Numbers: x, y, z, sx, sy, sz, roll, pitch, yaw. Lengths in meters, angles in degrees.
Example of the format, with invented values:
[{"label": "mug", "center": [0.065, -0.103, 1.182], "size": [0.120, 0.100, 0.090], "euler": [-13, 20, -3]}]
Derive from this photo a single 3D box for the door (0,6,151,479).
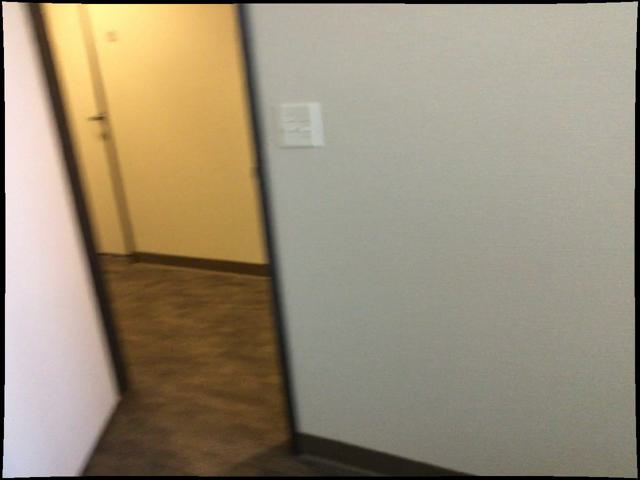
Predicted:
[{"label": "door", "center": [-0.919, 0.090, 1.840], "size": [0.150, 1.541, 1.140], "euler": [-6, 21, 1]}]
